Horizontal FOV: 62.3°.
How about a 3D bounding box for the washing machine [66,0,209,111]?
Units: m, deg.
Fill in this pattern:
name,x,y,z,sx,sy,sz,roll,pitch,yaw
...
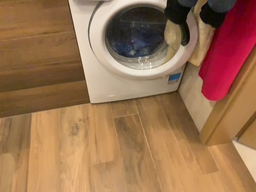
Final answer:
name,x,y,z,sx,sy,sz,roll,pitch,yaw
washing machine,0.010,-0.380,1.180,0.590,0.840,0.430,-9,51,-8
